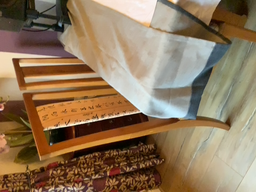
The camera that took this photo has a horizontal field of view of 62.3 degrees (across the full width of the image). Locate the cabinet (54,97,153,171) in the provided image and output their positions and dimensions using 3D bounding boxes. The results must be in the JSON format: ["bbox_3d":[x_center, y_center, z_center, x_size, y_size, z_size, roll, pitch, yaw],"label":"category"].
[{"bbox_3d":[-0.210,0.270,1.750,0.380,0.650,0.380,41,124,48],"label":"cabinet"}]
